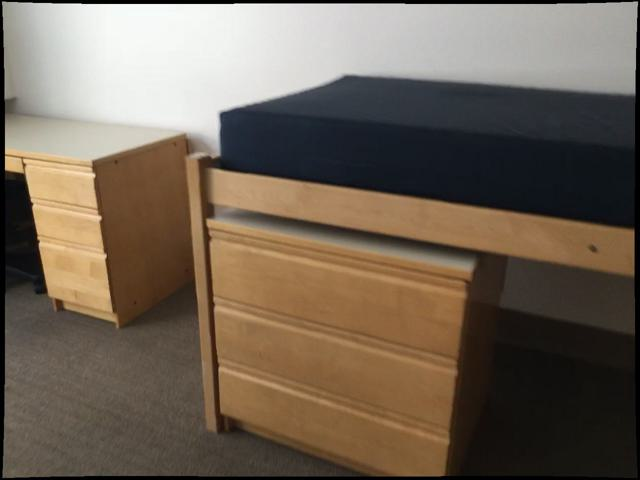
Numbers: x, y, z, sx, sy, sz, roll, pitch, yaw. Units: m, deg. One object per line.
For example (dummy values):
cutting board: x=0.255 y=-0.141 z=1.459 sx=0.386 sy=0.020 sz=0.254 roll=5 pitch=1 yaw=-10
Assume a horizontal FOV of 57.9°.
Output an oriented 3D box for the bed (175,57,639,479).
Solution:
bed: x=0.819 y=0.110 z=1.750 sx=2.158 sy=1.101 sz=1.060 roll=10 pitch=24 yaw=23
